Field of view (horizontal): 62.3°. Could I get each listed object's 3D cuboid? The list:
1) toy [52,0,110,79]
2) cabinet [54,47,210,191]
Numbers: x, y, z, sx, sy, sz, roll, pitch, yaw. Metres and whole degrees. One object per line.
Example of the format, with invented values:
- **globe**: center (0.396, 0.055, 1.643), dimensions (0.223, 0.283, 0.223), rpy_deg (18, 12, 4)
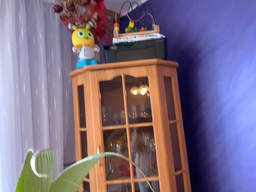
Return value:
- **toy**: center (-0.370, -0.390, 1.600), dimensions (0.230, 0.440, 0.440), rpy_deg (0, -7, -39)
- **cabinet**: center (0.040, 0.770, 1.560), dimensions (0.780, 1.960, 0.790), rpy_deg (0, -8, -41)
